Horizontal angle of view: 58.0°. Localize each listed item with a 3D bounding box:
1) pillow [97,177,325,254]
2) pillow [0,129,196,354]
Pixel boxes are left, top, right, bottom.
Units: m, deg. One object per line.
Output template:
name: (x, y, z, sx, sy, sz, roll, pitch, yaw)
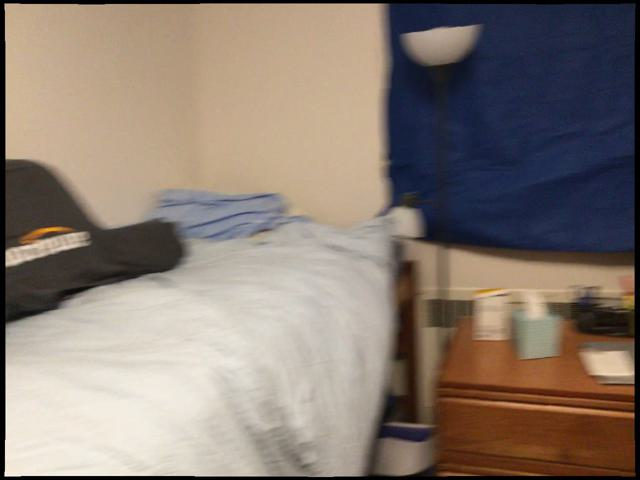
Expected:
pillow: (-0.389, -0.120, 2.270, 0.649, 0.180, 0.620, 2, 13, 19)
pillow: (-0.778, -0.050, 1.500, 0.469, 0.421, 0.900, 2, 13, 19)
